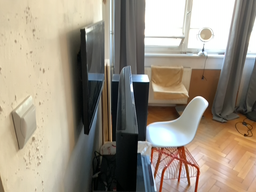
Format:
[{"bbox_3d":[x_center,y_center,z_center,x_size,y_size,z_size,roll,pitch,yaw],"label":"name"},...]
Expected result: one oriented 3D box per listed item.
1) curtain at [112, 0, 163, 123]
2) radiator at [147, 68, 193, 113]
[{"bbox_3d":[0.110,-0.840,3.140,0.680,2.680,0.280,0,22,-4],"label":"curtain"},{"bbox_3d":[0.680,-0.080,3.550,0.650,0.720,0.190,1,22,-1],"label":"radiator"}]
